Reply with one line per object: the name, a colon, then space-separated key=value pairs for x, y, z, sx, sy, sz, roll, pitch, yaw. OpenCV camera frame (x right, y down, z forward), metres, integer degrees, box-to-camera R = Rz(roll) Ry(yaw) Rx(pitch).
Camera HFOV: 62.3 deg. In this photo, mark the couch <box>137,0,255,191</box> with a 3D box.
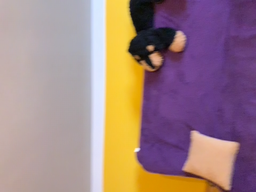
couch: x=0.670 y=-0.190 z=1.380 sx=0.770 sy=0.960 sz=1.670 roll=-141 pitch=51 yaw=-72
